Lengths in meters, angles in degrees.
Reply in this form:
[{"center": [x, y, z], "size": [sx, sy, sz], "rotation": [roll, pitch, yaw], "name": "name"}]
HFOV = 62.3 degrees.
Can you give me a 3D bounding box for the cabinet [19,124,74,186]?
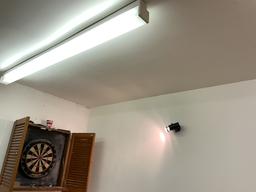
[{"center": [-0.990, 0.740, 2.650], "size": [0.140, 0.690, 0.500], "rotation": [-13, -26, 42], "name": "cabinet"}]
